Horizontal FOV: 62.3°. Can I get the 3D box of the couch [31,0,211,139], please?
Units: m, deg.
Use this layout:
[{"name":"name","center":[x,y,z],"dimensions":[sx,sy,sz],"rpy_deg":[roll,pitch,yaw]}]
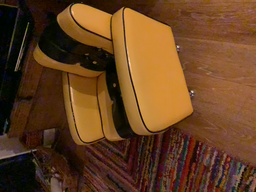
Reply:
[{"name":"couch","center":[-0.040,-0.090,0.910],"dimensions":[0.520,0.500,0.440],"rpy_deg":[-11,86,46]}]
